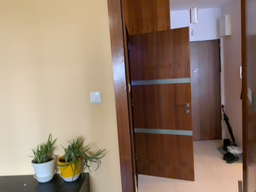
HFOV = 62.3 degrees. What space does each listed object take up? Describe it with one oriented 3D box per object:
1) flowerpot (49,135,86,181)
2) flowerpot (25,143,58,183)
[{"bbox_3d":[-0.390,0.400,1.390,0.170,0.250,0.140,-3,7,4],"label":"flowerpot"},{"bbox_3d":[-0.570,0.440,1.410,0.140,0.210,0.140,-3,7,4],"label":"flowerpot"}]
